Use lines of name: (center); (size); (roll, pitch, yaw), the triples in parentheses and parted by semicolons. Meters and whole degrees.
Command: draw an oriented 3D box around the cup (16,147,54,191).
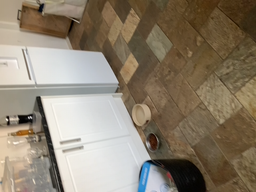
cup: (-0.740, 0.730, 1.680); (0.400, 0.170, 0.480); (-56, 50, 40)
